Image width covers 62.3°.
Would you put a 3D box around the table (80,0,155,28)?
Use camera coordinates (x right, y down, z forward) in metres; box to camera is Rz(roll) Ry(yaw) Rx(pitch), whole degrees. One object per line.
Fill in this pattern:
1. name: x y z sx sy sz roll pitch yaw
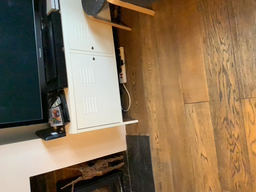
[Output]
1. table: -0.090 -0.800 1.650 0.340 0.460 0.350 -11 85 47

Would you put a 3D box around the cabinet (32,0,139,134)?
1. cabinet: -0.380 -0.330 1.870 0.520 0.630 1.210 -9 86 48
